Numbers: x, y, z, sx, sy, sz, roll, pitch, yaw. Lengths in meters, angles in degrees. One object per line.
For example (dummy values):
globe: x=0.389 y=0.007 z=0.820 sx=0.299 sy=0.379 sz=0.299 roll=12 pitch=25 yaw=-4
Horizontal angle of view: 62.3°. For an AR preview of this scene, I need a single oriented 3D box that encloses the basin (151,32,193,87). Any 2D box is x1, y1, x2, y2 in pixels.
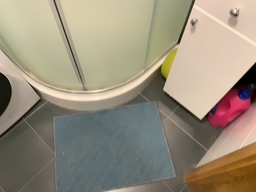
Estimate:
basin: x=0.280 y=-0.230 z=1.420 sx=0.110 sy=0.320 sz=0.200 roll=40 pitch=70 yaw=15
